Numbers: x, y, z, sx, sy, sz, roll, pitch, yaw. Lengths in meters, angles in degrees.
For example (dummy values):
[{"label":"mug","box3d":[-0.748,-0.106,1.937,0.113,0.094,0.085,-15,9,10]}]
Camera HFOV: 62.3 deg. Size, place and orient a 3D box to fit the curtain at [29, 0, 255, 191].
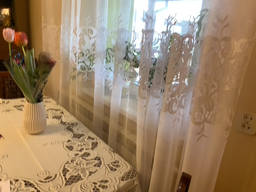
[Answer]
[{"label":"curtain","box3d":[-0.200,-0.500,1.450,0.310,2.850,1.950,-10,24,-40]}]
